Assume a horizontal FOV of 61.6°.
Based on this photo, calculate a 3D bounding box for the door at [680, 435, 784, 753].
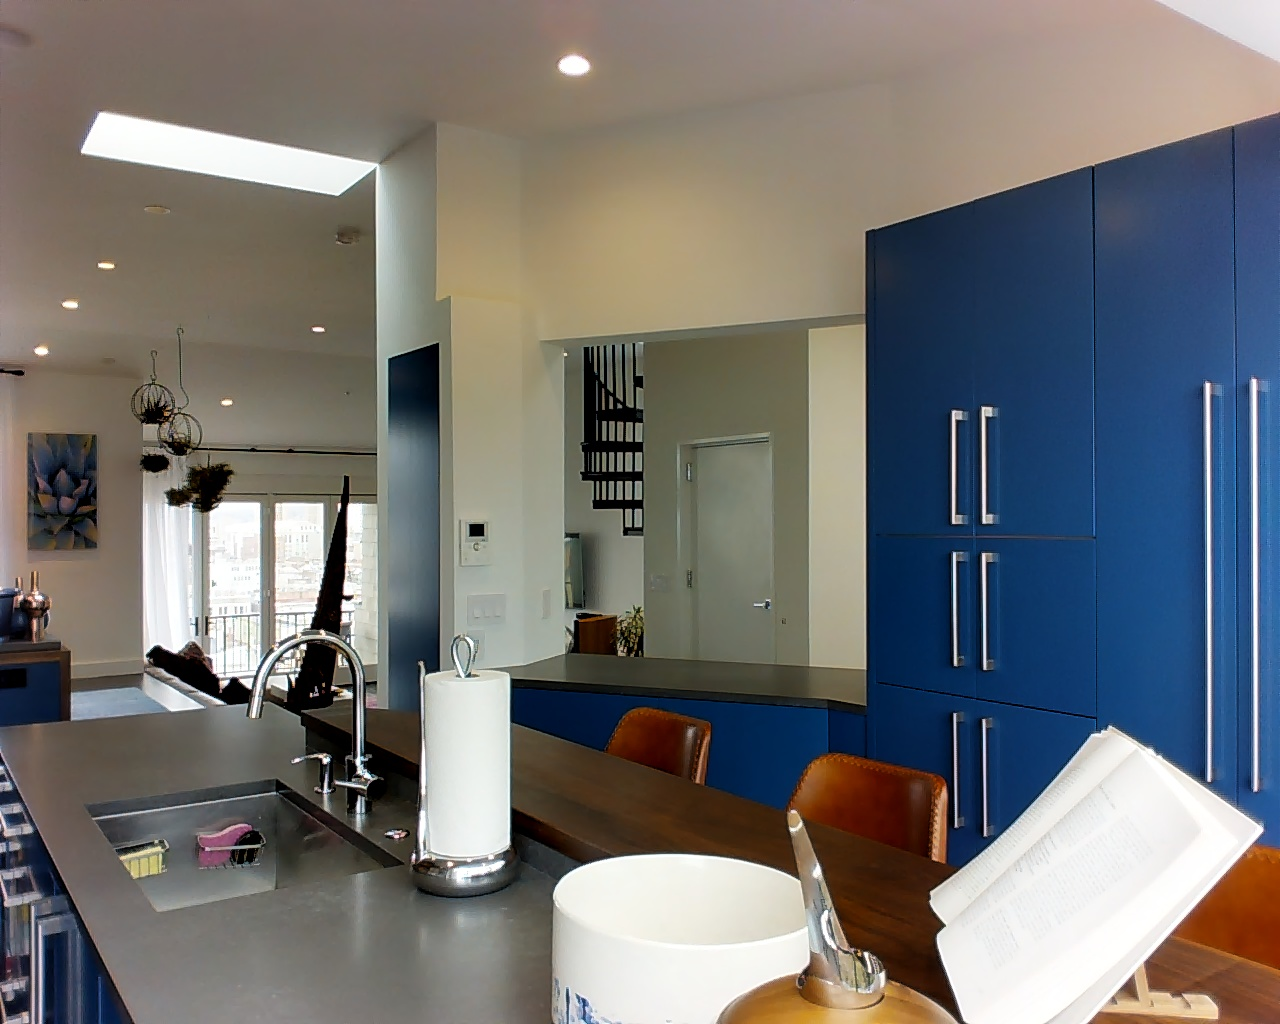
[{"bbox_3d":[0.610,0.530,7.320,0.100,2.040,0.960,0,0,-34],"label":"door"}]

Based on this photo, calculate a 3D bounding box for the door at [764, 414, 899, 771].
[{"bbox_3d":[1.190,0.480,6.660,0.830,2.140,0.180,0,0,-21],"label":"door"}]
